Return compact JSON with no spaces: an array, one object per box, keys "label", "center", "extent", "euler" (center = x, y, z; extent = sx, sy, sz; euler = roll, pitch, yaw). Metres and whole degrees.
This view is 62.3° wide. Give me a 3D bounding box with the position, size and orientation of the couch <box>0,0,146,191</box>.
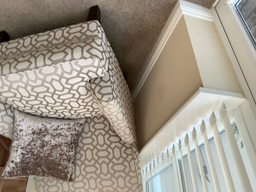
[{"label":"couch","center":[-0.390,0.120,1.310],"extent":[0.790,0.900,0.890],"euler":[-10,146,10]}]
